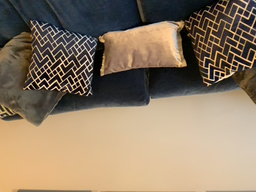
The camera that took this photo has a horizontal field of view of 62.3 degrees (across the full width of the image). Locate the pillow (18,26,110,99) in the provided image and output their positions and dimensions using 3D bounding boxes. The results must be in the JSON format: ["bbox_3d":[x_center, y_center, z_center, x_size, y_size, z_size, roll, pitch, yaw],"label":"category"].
[{"bbox_3d":[-0.370,-0.210,1.310,0.460,0.310,0.200,17,118,-18],"label":"pillow"}]

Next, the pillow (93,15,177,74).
[{"bbox_3d":[0.050,-0.300,1.290,0.460,0.220,0.200,-5,153,11],"label":"pillow"}]

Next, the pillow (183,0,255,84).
[{"bbox_3d":[0.510,-0.300,1.040,0.350,0.360,0.150,-29,128,18],"label":"pillow"}]

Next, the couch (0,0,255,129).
[{"bbox_3d":[0.040,-0.420,1.220,2.620,0.760,1.140,-5,153,12],"label":"couch"}]
